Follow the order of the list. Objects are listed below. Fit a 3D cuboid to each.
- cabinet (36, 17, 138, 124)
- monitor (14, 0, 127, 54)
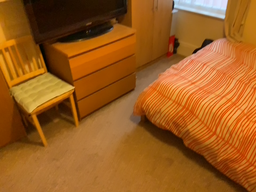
[{"bbox_3d":[-0.380,-0.320,2.320,0.830,0.770,0.550,-30,46,-33],"label":"cabinet"},{"bbox_3d":[-0.420,-0.930,1.870,0.100,0.760,1.140,27,45,32],"label":"monitor"}]
